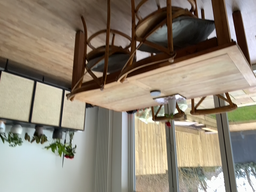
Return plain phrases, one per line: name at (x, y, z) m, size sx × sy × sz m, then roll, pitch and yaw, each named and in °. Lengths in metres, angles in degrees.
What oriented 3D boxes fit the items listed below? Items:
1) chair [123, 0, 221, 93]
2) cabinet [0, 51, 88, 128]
chair at (0.310, -0.540, 1.570) m, size 0.470 × 0.870 × 0.520 m, roll -13°, pitch 159°, yaw 37°
cabinet at (-1.400, 0.000, 3.450) m, size 0.460 × 0.860 × 1.490 m, roll -13°, pitch 160°, yaw 37°
